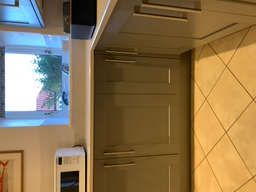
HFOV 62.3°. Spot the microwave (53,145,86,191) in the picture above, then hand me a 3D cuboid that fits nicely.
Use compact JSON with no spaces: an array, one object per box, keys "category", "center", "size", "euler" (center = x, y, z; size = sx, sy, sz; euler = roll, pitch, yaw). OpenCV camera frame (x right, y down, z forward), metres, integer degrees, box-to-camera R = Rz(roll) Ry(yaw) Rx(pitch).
[{"category":"microwave","center":[-0.500,0.690,1.820],"size":[0.230,0.250,0.480],"euler":[180,90,-75]}]
